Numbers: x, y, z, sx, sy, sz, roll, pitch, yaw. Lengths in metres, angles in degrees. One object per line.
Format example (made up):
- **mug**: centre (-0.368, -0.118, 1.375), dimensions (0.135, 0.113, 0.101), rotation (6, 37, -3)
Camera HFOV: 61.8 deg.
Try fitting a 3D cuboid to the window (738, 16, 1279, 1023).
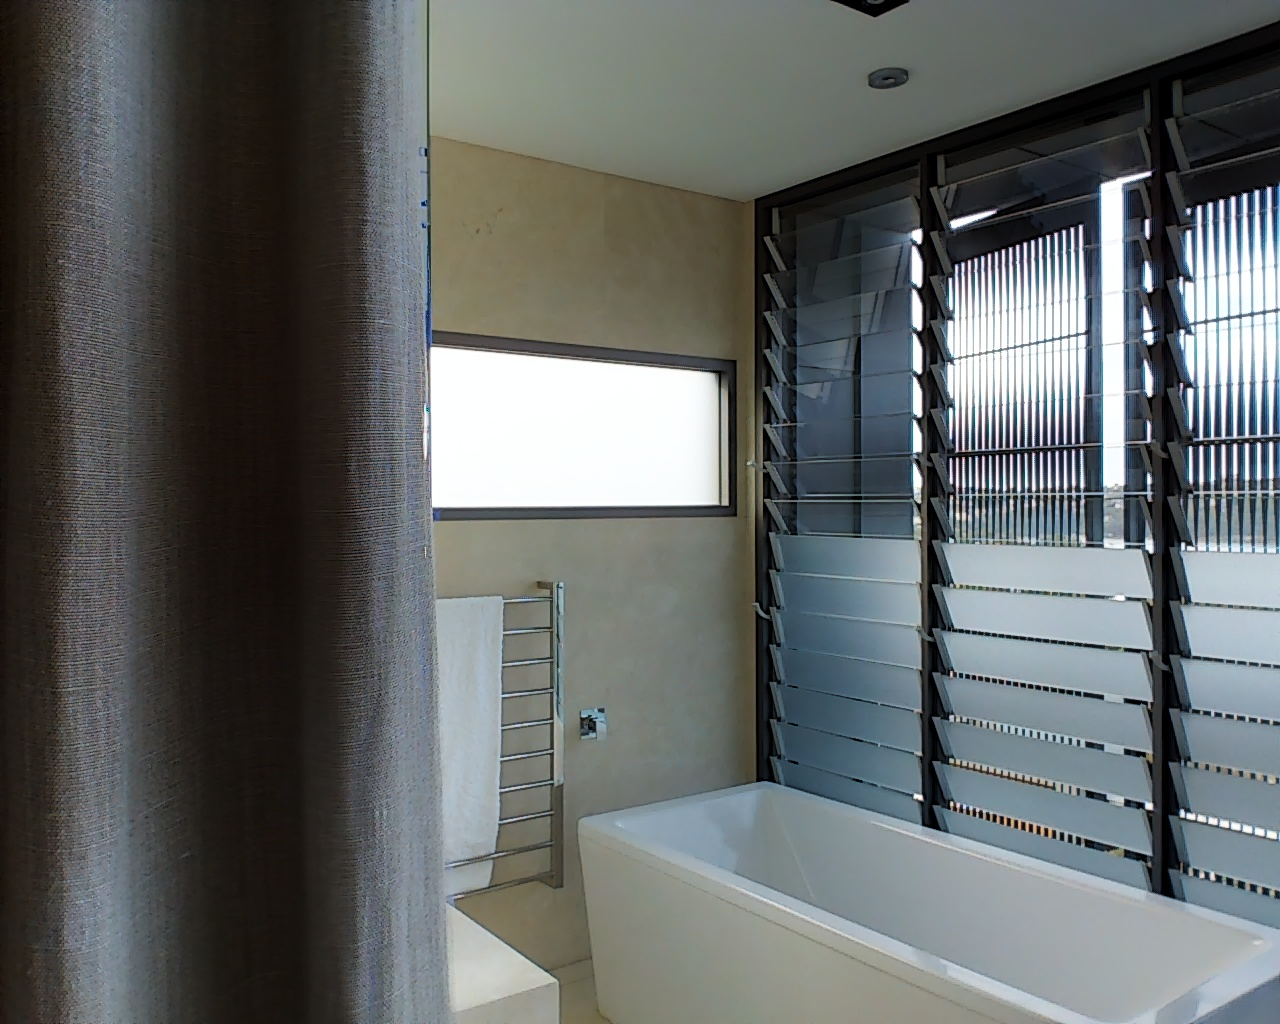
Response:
- **window**: centre (1.110, 0.170, 3.140), dimensions (0.090, 2.671, 2.360), rotation (-1, 1, -36)
